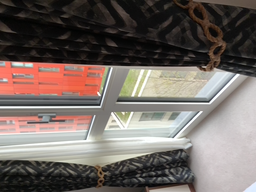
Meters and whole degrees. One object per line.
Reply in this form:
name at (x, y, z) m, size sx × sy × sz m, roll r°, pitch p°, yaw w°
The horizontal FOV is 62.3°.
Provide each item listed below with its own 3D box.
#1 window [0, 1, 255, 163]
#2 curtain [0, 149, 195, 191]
window at (-0.310, 0.060, 1.660) m, size 0.120 × 2.640 × 1.350 m, roll -110°, pitch 30°, yaw -42°
curtain at (-0.470, 0.780, 1.930) m, size 0.290 × 2.300 × 0.320 m, roll -111°, pitch 30°, yaw -43°
